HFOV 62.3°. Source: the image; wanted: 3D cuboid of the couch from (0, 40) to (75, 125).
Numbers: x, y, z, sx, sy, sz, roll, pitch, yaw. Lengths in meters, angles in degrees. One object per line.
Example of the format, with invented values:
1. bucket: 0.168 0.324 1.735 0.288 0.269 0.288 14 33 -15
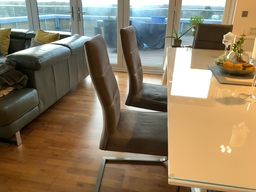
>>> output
1. couch: -1.300 -0.220 2.510 1.030 0.710 0.770 6 23 10

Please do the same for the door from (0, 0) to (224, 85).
1. door: -1.060 -1.460 4.010 5.310 2.150 0.080 5 23 9
